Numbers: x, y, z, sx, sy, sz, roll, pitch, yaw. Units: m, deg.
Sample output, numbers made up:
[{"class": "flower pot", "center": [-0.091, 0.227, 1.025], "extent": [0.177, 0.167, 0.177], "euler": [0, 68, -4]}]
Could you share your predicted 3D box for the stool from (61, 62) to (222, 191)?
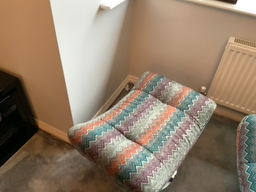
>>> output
[{"class": "stool", "center": [0.090, 0.220, 1.180], "extent": [0.490, 0.410, 0.670], "euler": [31, 50, 25]}]
